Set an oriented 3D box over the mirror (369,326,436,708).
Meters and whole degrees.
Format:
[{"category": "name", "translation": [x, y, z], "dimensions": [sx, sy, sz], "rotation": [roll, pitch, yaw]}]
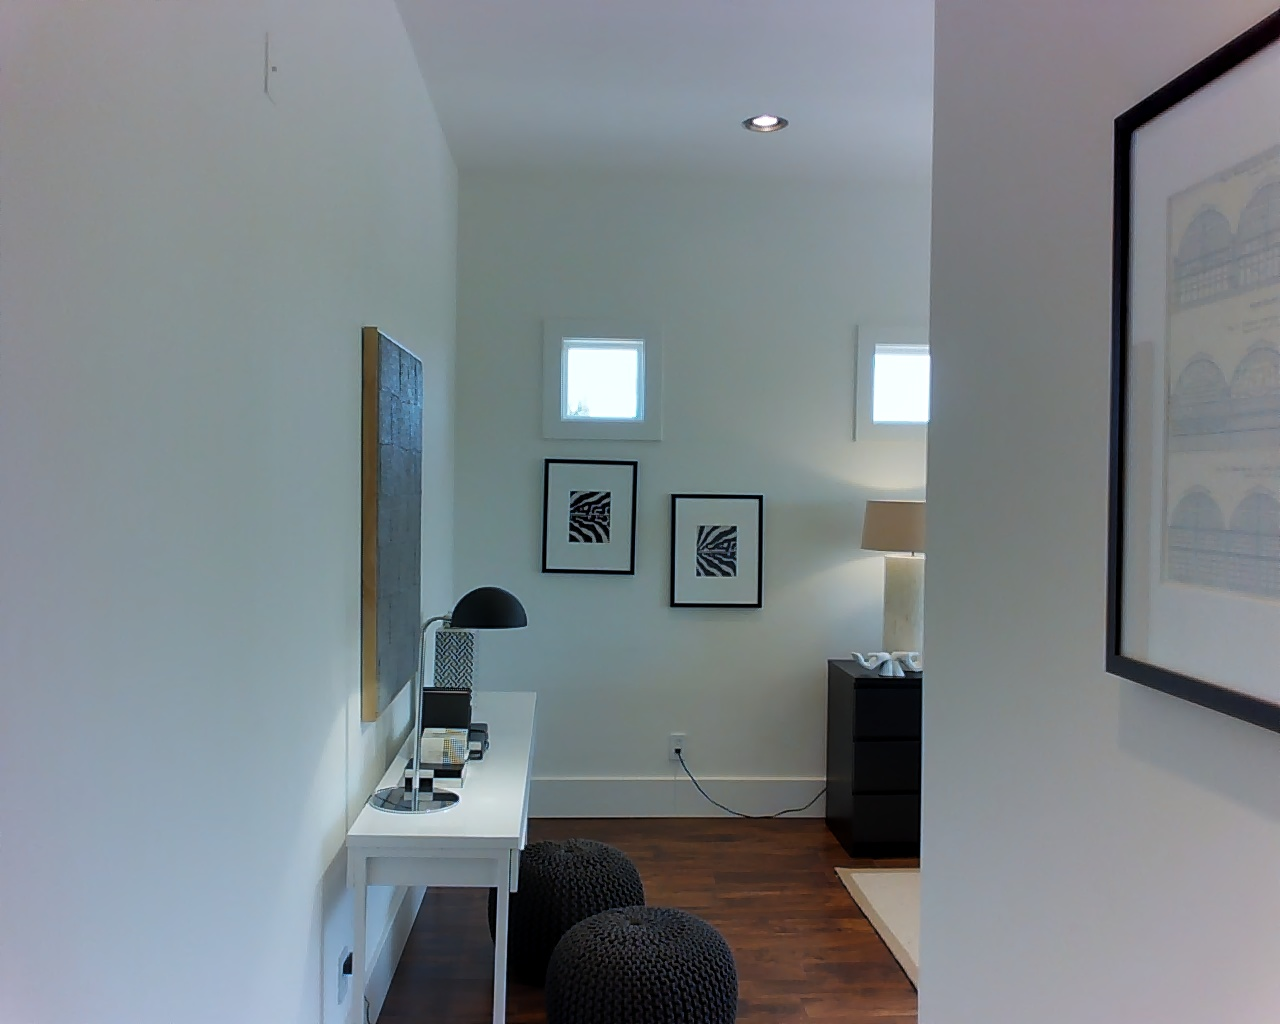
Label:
[{"category": "mirror", "translation": [-0.720, 0.010, 3.310], "dimensions": [0.060, 1.030, 0.830], "rotation": [1, 1, -3]}]
